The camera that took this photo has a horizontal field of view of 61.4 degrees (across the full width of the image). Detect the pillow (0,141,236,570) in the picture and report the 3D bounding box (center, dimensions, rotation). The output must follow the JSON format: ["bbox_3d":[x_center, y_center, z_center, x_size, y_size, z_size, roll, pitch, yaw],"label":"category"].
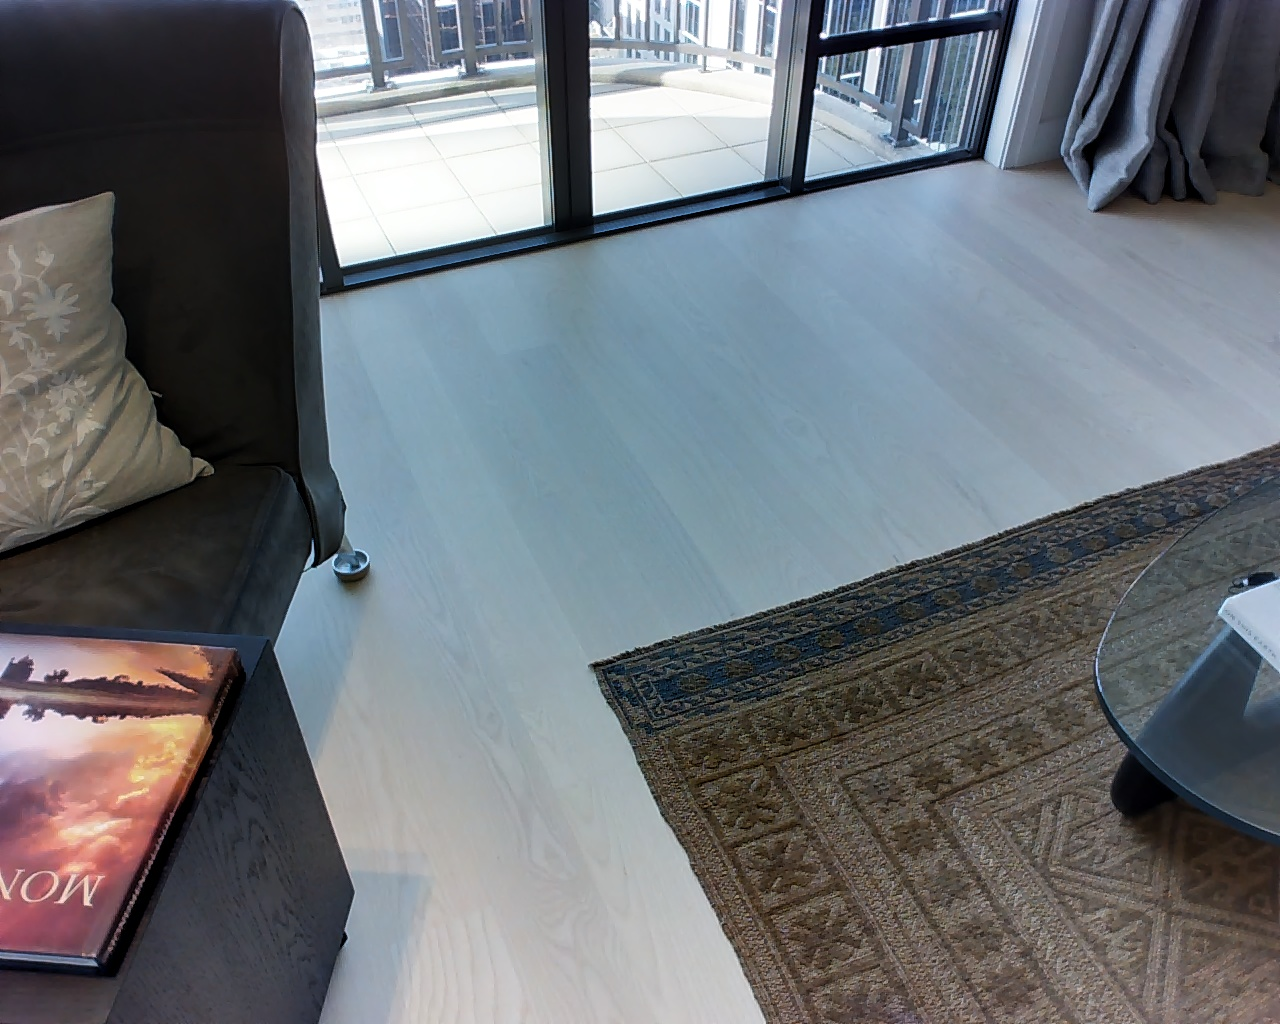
[{"bbox_3d":[-0.980,-0.170,1.420,0.670,0.480,0.340,-22,22,-29],"label":"pillow"}]
